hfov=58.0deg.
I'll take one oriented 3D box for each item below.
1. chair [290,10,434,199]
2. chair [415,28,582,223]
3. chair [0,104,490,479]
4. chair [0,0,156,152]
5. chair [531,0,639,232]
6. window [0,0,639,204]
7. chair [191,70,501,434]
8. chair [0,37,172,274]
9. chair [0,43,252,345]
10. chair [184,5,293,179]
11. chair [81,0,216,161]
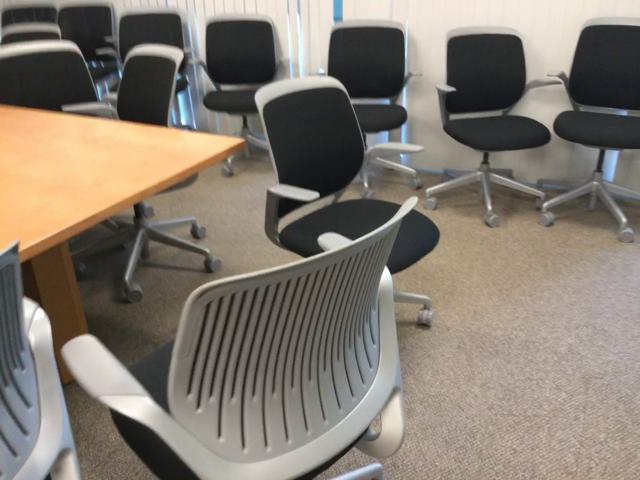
[{"bbox_3d":[0.240,-0.790,3.270,0.600,0.890,0.570,12,29,23],"label":"chair"},{"bbox_3d":[0.860,-0.610,2.940,0.640,0.810,0.610,6,27,12],"label":"chair"},{"bbox_3d":[-0.150,0.300,1.210,0.630,0.950,0.690,20,33,35],"label":"chair"},{"bbox_3d":[-1.690,-1.230,4.130,0.640,1.000,0.660,5,27,11],"label":"chair"},{"bbox_3d":[1.390,-0.610,2.690,0.560,0.930,0.620,12,29,23],"label":"chair"},{"bbox_3d":[-0.400,-1.420,3.630,5.010,1.620,0.390,12,29,23],"label":"window"},{"bbox_3d":[0.100,-0.030,1.950,0.680,0.890,0.680,17,31,31],"label":"chair"},{"bbox_3d":[-1.250,-0.440,2.730,0.730,0.880,0.750,5,27,10],"label":"chair"},{"bbox_3d":[-0.780,-0.250,2.350,0.540,0.920,0.840,16,31,30],"label":"chair"},{"bbox_3d":[-0.470,-0.940,3.640,0.570,0.960,0.560,-2,26,-2],"label":"chair"},{"bbox_3d":[-1.080,-1.090,3.850,0.640,0.930,0.680,-3,27,-5],"label":"chair"}]
